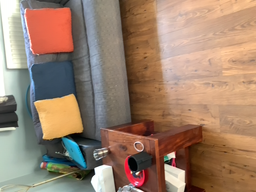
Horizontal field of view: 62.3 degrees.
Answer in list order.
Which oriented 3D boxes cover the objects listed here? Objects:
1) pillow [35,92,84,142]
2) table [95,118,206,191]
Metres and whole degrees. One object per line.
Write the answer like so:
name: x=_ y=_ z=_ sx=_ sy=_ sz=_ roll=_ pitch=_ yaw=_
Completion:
pillow: x=-0.660 y=0.190 z=2.070 sx=0.100 sy=0.370 sz=0.410 roll=-21 pitch=84 yaw=37
table: x=0.160 y=0.550 z=1.650 sx=0.650 sy=0.510 sz=0.630 roll=-1 pitch=95 yaw=51
